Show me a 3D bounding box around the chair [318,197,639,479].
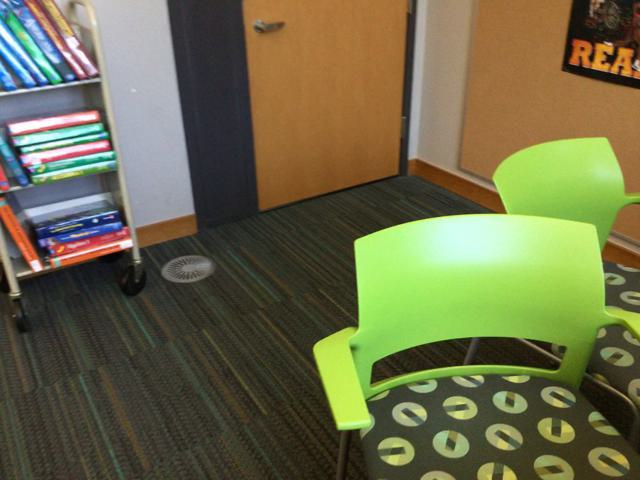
[{"bbox_3d":[0.310,0.420,1.060,0.620,0.810,0.620,1,26,0],"label":"chair"}]
